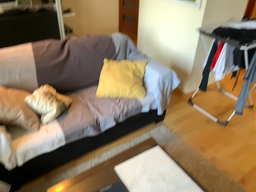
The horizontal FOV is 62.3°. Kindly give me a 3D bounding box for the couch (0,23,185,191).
[{"bbox_3d":[-0.430,-0.060,2.010,1.630,0.820,0.900,-20,40,-29],"label":"couch"}]
